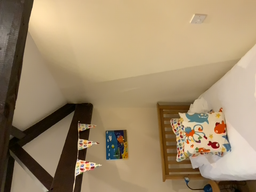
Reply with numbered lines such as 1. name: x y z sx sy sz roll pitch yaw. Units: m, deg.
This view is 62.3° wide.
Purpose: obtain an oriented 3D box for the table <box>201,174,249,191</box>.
1. table: 1.240 1.200 2.730 0.330 0.440 0.350 105 165 -67
